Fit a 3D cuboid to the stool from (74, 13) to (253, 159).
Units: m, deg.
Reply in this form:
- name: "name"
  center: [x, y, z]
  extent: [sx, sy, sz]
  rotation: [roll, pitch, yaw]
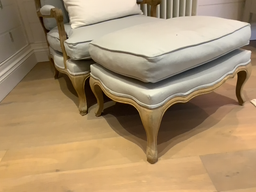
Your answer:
- name: "stool"
  center: [0.190, -0.140, 1.160]
  extent: [0.730, 0.460, 0.500]
  rotation: [-23, 34, -29]
